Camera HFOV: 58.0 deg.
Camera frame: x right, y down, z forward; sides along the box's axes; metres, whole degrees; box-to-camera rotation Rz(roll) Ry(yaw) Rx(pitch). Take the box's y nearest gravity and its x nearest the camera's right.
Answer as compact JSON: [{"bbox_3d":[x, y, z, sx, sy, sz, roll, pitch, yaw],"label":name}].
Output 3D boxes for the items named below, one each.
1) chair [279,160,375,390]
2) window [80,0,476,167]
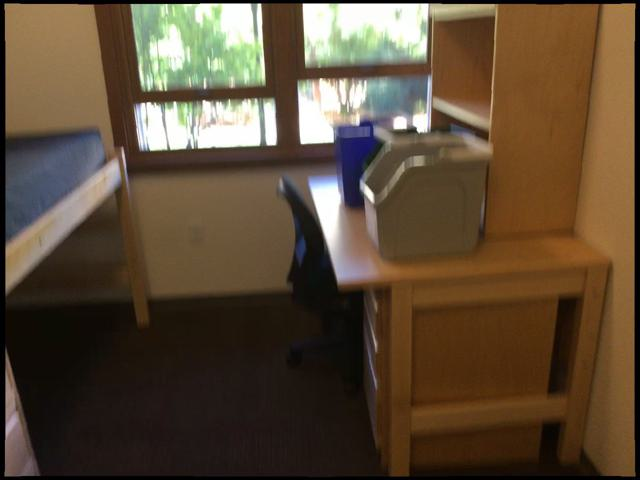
[{"bbox_3d":[0.030,0.140,2.490,0.349,0.872,0.430,-3,21,-2],"label":"chair"},{"bbox_3d":[-0.180,-0.952,2.870,1.826,1.042,0.270,-3,21,-2],"label":"window"}]
